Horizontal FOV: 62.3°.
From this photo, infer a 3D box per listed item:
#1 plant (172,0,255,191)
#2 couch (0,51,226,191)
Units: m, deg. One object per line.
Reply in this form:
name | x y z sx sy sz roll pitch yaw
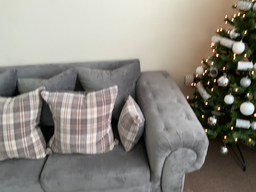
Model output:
plant | 0.910 -0.270 1.470 0.830 1.700 0.840 -5 33 -5
couch | -0.540 0.240 1.620 2.030 0.750 0.940 -4 33 -4
